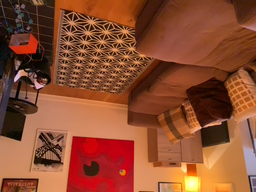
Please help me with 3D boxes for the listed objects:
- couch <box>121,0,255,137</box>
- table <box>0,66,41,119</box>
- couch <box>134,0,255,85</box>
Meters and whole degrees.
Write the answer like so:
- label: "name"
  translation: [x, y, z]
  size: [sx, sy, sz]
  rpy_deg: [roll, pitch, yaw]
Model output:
- label: "couch"
  translation: [0.960, -0.120, 2.730]
  size: [1.150, 0.760, 2.970]
  rpy_deg: [8, 158, -20]
- label: "table"
  translation: [-1.850, -0.030, 3.330]
  size: [0.780, 0.530, 0.790]
  rpy_deg: [7, 158, -17]
- label: "couch"
  translation: [0.510, -0.610, 1.640]
  size: [0.560, 0.610, 1.070]
  rpy_deg: [8, 158, -20]
